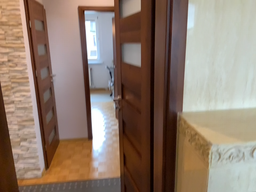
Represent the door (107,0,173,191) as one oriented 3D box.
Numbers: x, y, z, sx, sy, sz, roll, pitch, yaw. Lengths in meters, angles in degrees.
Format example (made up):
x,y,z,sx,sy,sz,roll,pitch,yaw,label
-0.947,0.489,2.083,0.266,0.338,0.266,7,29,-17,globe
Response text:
x,y,z,sx,sy,sz,roll,pitch,yaw,label
0.020,0.200,1.490,0.080,2.170,0.920,-5,16,-17,door
